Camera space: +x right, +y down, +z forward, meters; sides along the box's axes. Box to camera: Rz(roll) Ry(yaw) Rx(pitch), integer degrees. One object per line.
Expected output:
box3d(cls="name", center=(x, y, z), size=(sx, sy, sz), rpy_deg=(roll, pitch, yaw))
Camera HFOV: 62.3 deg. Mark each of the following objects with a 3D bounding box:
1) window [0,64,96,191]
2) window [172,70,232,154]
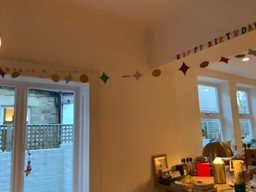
box3d(cls="window", center=(-1.480, 0.560, 2.100), size=(2.280, 1.700, 0.530), rpy_deg=(4, -10, -35))
box3d(cls="window", center=(1.550, 0.330, 4.410), size=(1.200, 1.570, 0.390), rpy_deg=(3, -10, -34))
